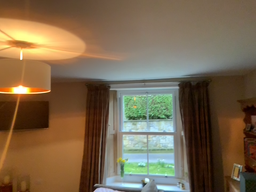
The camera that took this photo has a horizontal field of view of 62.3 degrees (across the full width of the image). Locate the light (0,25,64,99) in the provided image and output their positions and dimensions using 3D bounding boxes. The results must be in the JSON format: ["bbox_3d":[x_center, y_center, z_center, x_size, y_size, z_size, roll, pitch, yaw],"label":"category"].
[{"bbox_3d":[-0.860,-0.270,1.740,0.350,0.410,0.470,-77,-18,-49],"label":"light"}]
